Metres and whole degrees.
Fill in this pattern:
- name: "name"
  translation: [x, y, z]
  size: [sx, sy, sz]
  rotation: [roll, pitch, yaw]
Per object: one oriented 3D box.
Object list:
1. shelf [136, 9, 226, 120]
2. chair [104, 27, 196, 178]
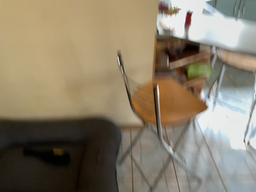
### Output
- name: "shelf"
  translation: [0.380, -0.260, 1.860]
  size: [0.580, 0.860, 0.410]
  rotation: [-2, 35, -2]
- name: "chair"
  translation: [0.110, 0.060, 1.400]
  size: [0.350, 0.880, 0.360]
  rotation: [-21, 40, -26]
